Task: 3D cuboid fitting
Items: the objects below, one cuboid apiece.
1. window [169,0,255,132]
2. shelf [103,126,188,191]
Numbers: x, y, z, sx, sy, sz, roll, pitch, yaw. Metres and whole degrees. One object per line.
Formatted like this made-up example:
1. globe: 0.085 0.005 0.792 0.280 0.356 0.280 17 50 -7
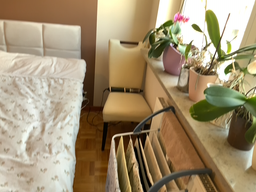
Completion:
1. window: 0.660 -0.500 1.010 0.160 1.090 2.070 4 27 -8
2. shelf: 0.050 0.600 1.380 0.400 0.560 0.570 4 27 -7
